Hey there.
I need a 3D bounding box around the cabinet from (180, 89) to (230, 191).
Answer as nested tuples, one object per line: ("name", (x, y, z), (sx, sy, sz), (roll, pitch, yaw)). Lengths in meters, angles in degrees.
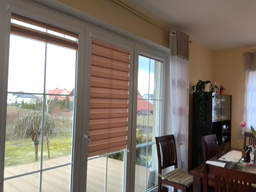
("cabinet", (1.590, 0.770, 4.250), (0.470, 1.720, 1.350), (1, -2, 40))
